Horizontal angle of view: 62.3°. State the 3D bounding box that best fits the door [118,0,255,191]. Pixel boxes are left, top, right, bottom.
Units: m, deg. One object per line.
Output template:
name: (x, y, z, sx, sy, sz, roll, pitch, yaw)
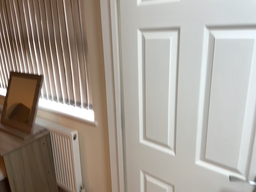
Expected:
door: (0.270, 0.290, 1.010, 0.770, 1.970, 0.030, 14, 23, 39)
